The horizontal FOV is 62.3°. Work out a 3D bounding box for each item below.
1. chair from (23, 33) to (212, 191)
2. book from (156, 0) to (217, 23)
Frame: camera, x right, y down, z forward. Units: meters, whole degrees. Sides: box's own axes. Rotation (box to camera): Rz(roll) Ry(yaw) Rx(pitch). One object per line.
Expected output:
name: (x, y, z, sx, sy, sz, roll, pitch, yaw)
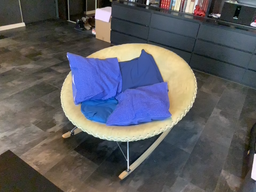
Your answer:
chair: (-0.050, 0.060, 1.810, 1.050, 0.760, 1.000, 24, 36, 24)
book: (0.910, -1.450, 3.350, 0.850, 0.340, 0.250, 26, 37, 26)
